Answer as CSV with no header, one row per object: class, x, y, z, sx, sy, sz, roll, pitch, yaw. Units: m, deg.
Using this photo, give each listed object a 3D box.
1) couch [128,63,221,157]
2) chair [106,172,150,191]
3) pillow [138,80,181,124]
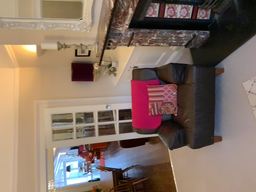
couch,0.520,0.090,2.660,0.900,0.770,0.950,-161,69,-72
chair,-0.020,2.100,4.830,0.560,0.850,0.460,116,146,-58
pillow,0.400,0.080,2.680,0.140,0.390,0.450,-30,-80,-65
